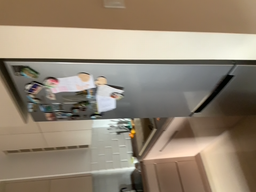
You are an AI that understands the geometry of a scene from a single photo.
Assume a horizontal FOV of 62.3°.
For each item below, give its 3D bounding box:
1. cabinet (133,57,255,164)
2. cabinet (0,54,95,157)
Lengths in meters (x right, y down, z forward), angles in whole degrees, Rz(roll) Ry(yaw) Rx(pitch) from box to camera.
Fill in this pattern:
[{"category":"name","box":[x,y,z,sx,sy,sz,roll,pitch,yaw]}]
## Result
[{"category":"cabinet","box":[0.630,0.250,2.380,1.340,0.870,0.580,106,160,-55]},{"category":"cabinet","box":[-0.920,0.200,2.160,1.420,1.110,0.320,106,160,-55]}]
